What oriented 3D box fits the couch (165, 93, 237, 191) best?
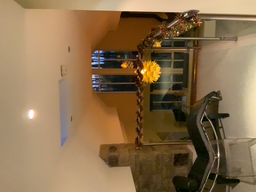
[{"bbox_3d":[0.980,0.690,3.020,0.500,0.690,1.370,111,158,-73],"label":"couch"}]
